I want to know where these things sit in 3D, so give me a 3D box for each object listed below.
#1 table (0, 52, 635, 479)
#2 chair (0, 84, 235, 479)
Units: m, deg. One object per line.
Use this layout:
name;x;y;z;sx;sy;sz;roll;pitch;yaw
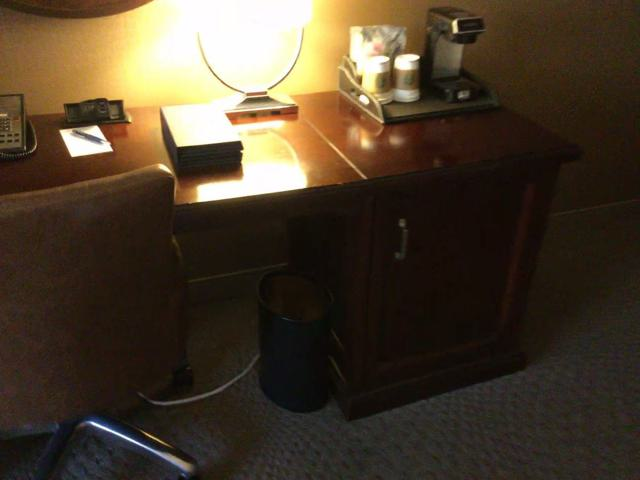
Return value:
table;-0.410;0.030;1.580;2.180;0.860;0.900;-9;30;-23
chair;-0.620;0.160;1.380;0.660;0.890;0.630;-9;30;-23
